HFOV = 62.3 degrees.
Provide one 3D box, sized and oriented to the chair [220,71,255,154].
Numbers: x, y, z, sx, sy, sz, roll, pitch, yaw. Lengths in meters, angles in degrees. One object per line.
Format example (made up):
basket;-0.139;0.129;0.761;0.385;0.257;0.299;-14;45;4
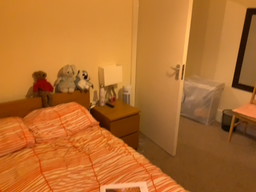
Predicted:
chair;1.560;0.180;2.680;0.500;0.850;0.430;-15;26;-39
